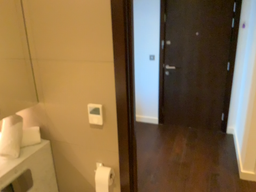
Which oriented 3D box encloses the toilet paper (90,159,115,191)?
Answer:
[{"bbox_3d":[-0.170,0.590,1.460,0.120,0.270,0.110,5,20,20],"label":"toilet paper"}]
